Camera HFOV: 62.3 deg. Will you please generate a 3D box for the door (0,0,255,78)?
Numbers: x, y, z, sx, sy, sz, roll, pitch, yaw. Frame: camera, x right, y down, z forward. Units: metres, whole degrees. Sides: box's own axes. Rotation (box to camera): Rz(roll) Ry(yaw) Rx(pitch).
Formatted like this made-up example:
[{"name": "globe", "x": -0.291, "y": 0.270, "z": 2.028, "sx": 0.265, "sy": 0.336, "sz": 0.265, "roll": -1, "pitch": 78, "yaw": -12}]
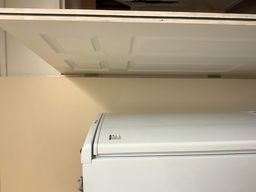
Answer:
[{"name": "door", "x": 0.600, "y": -0.190, "z": 0.990, "sx": 0.760, "sy": 2.000, "sz": 0.080, "roll": 118, "pitch": 151, "yaw": -84}]
